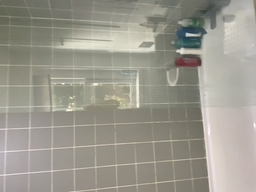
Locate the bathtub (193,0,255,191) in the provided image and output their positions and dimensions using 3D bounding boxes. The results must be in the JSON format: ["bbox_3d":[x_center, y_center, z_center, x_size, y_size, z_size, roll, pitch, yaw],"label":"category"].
[{"bbox_3d":[0.950,0.180,1.460,0.690,0.560,1.670,149,120,-74],"label":"bathtub"}]
